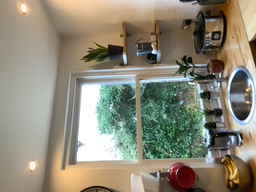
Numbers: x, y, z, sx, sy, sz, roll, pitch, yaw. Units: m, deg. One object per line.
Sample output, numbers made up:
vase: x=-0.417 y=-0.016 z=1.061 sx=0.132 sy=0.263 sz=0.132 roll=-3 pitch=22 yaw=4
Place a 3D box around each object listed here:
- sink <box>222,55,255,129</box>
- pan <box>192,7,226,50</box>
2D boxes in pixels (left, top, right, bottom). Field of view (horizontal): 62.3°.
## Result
sink: x=0.920 y=-0.010 z=1.630 sx=0.410 sy=0.170 sz=0.440 roll=81 pitch=-172 yaw=-68
pan: x=0.740 y=-0.610 z=1.980 sx=0.310 sy=0.210 sz=0.330 roll=-75 pitch=-18 yaw=-80
